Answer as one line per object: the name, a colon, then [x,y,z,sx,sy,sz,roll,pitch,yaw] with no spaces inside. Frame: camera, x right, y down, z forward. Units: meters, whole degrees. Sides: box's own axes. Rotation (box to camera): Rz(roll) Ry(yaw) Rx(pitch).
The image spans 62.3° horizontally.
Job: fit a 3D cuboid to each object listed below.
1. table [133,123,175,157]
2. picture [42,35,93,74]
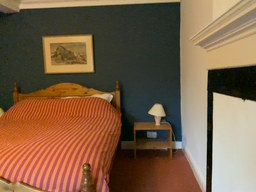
table: [0.360,0.630,3.090,0.570,0.380,0.360,-1,6,3]
picture: [-0.930,-0.630,3.250,0.770,0.570,0.010,-1,6,3]
